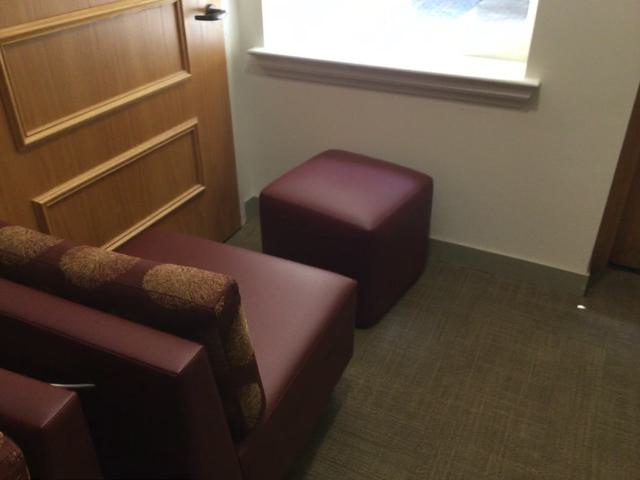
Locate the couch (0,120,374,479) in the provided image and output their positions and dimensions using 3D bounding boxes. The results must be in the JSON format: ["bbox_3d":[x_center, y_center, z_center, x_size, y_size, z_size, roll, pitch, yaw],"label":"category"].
[{"bbox_3d":[-0.370,0.210,1.390,0.720,0.700,0.790,12,34,27],"label":"couch"}]

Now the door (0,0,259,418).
[{"bbox_3d":[-0.680,-0.730,1.570,0.120,2.230,1.160,12,34,27],"label":"door"}]

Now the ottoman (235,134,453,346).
[{"bbox_3d":[0.110,-0.040,2.170,0.560,0.480,0.560,16,36,32],"label":"ottoman"}]

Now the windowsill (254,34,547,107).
[{"bbox_3d":[0.260,-0.640,2.120,1.030,0.150,0.240,12,34,27],"label":"windowsill"}]
